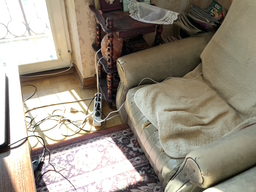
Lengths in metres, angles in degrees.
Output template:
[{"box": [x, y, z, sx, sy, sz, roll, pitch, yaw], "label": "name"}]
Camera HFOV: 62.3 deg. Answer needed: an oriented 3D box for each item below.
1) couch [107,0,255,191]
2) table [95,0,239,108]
[{"box": [0.430, -0.050, 1.050, 0.860, 0.950, 0.790, -13, 50, -18], "label": "couch"}, {"box": [0.230, -0.300, 1.490, 0.870, 0.620, 0.220, -13, 50, -18], "label": "table"}]
